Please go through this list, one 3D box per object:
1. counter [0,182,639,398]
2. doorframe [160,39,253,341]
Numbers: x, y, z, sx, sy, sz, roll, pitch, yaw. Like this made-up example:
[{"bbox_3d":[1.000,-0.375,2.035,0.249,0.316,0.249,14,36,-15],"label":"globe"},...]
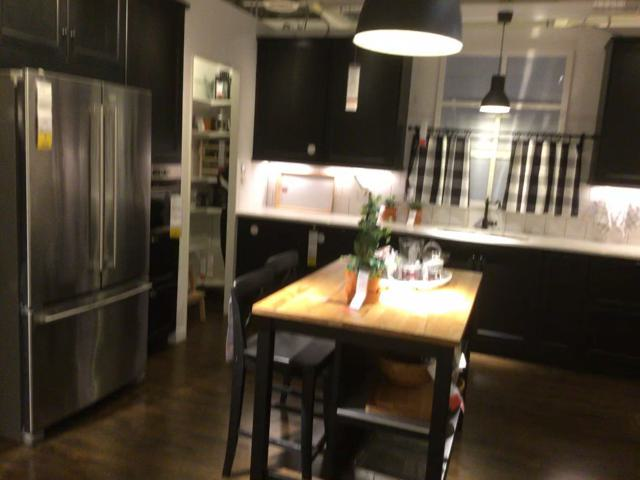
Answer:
[{"bbox_3d":[0.790,0.020,3.270,3.890,0.260,3.010,6,11,22],"label":"counter"},{"bbox_3d":[-0.850,-0.380,4.470,0.170,2.090,0.970,6,11,22],"label":"doorframe"}]
